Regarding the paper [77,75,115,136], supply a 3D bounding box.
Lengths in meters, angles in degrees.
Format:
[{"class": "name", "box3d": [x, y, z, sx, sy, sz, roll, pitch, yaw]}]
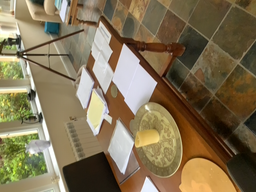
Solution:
[{"class": "paper", "box3d": [-0.290, 0.080, 1.810, 0.320, 0.110, 0.410, 56, 135, 36]}]

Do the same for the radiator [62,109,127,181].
[{"class": "radiator", "box3d": [-0.510, 0.620, 3.020, 1.030, 0.570, 0.150, 56, 135, 36]}]

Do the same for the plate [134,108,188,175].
[{"class": "plate", "box3d": [0.160, 0.240, 1.130, 0.240, 0.070, 0.250, 58, 136, 35]}]

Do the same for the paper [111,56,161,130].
[{"class": "paper", "box3d": [0.030, -0.020, 1.320, 0.320, 0.050, 0.320, 56, 135, 36]}]
